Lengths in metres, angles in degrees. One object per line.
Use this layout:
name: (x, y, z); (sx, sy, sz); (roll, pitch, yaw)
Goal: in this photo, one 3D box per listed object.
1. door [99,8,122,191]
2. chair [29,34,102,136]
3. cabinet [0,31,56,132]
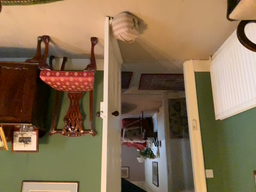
door: (-0.140, 0.320, 2.090); (0.060, 2.090, 0.900); (-2, 164, 5)
chair: (-0.620, -0.090, 2.320); (0.560, 0.990, 0.550); (0, 164, 1)
cabinet: (-1.580, -0.120, 2.290); (1.330, 0.940, 0.600); (0, 164, 1)
